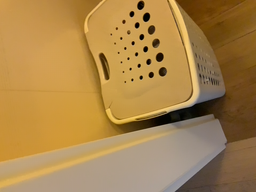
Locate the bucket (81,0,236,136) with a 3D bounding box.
[{"bbox_3d":[0.170,-0.140,0.910,0.320,0.580,0.480,-21,78,33],"label":"bucket"}]
